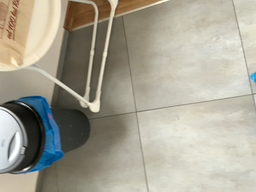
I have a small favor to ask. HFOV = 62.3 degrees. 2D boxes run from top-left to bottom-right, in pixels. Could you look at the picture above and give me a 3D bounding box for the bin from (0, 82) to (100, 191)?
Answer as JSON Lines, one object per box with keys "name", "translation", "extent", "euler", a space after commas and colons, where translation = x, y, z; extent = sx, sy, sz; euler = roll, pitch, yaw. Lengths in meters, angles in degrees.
{"name": "bin", "translation": [-0.460, 0.190, 1.070], "extent": [0.350, 0.570, 0.460], "euler": [9, 90, 19]}
